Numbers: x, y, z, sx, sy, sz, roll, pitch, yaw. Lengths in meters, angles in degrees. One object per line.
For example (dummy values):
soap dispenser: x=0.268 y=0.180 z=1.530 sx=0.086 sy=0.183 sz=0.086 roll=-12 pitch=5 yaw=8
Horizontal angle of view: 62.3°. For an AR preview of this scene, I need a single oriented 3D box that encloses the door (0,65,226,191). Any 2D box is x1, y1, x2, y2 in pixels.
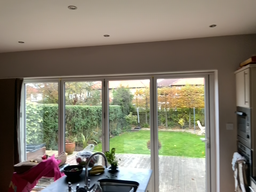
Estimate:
door: x=-0.690 y=0.710 z=4.090 sx=4.750 sy=2.430 sz=0.080 roll=0 pitch=-1 yaw=14
